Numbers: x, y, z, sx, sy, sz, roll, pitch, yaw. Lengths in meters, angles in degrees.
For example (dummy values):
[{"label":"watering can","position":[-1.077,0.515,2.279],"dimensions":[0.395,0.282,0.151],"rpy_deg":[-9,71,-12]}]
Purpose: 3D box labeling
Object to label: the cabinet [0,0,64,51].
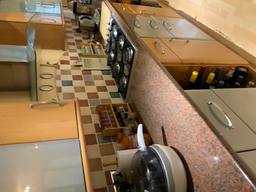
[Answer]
[{"label":"cabinet","position":[-1.250,-0.980,2.700],"dimensions":[1.070,0.780,0.320],"rpy_deg":[-115,30,-48]}]
